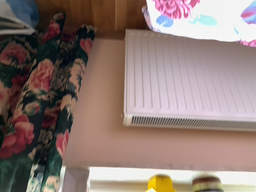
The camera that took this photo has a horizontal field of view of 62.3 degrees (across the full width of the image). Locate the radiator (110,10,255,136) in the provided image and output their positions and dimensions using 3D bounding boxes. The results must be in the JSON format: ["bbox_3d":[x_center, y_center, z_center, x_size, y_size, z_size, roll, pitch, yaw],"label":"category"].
[{"bbox_3d":[0.410,-0.150,1.210,0.970,0.720,0.130,6,145,-7],"label":"radiator"}]
